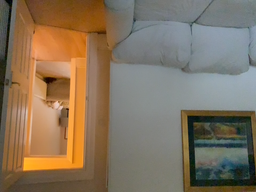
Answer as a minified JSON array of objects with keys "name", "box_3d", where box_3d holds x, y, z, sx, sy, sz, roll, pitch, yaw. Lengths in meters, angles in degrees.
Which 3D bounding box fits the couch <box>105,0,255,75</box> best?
[{"name":"couch","box_3d":[0.550,-0.720,1.980,1.480,0.840,0.970,0,173,-4]}]

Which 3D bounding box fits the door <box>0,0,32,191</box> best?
[{"name":"door","box_3d":[-1.250,-0.090,2.370,0.050,2.070,0.880,2,172,-13]}]

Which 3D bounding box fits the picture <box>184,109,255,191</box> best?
[{"name":"picture","box_3d":[1.040,0.600,2.300,0.850,0.910,0.010,1,172,-6]}]
